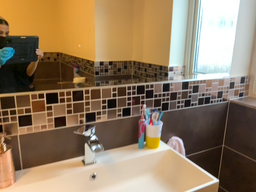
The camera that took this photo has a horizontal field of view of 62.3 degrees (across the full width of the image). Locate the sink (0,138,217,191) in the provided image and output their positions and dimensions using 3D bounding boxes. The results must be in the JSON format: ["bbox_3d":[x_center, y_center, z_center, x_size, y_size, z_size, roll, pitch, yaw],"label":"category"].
[{"bbox_3d":[-0.110,0.360,0.790,0.800,0.120,0.380,-6,16,-27],"label":"sink"}]
